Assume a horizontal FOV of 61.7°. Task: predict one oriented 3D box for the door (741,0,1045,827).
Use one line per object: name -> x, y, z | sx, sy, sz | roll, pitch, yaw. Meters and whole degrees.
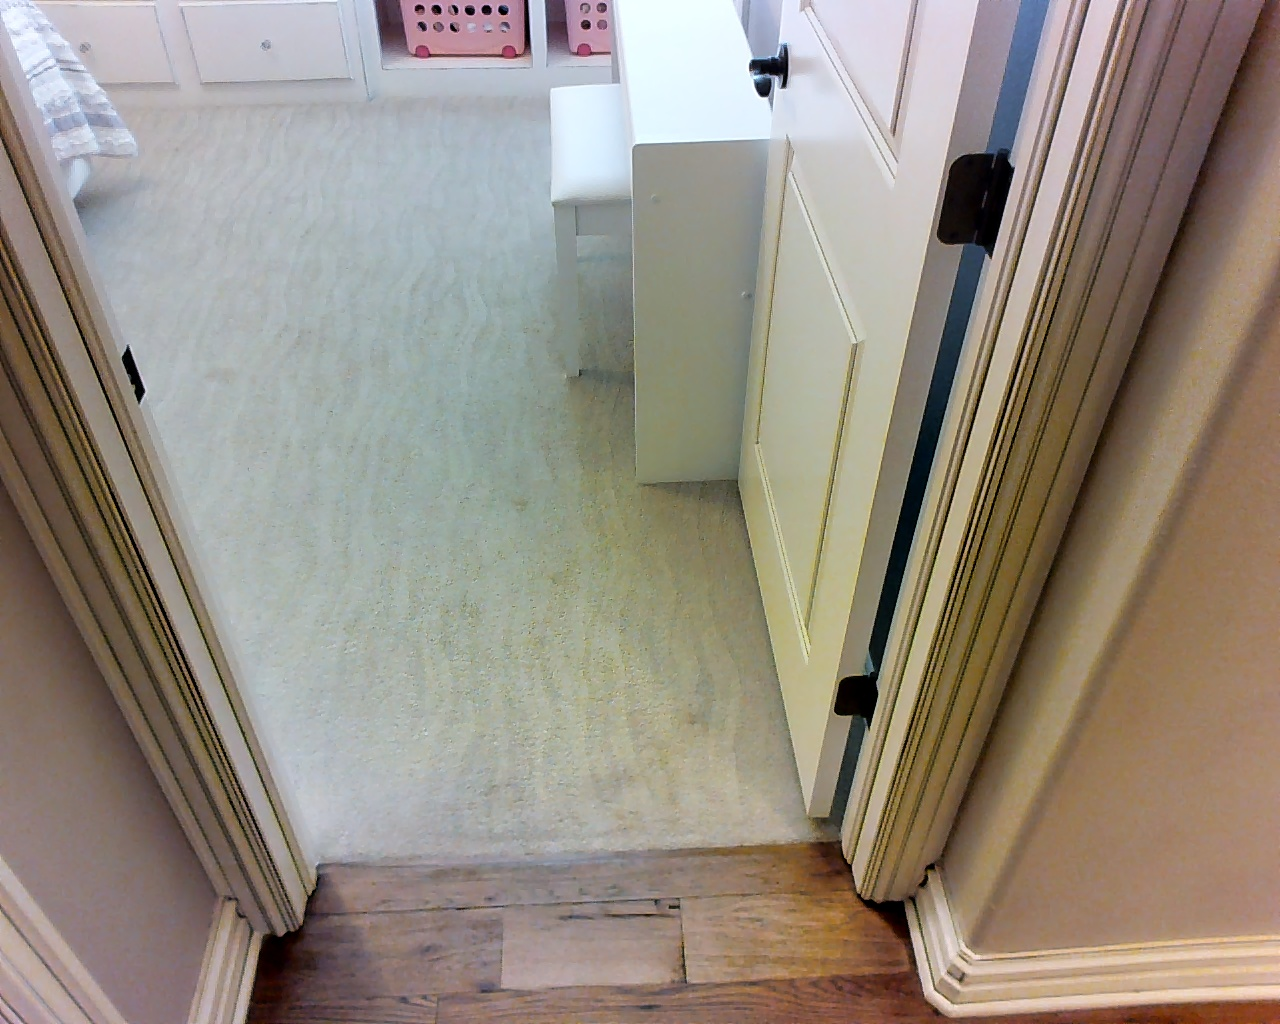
door -> 0.270, -0.550, 1.290 | 0.060, 2.080, 0.840 | -2, 43, -2
